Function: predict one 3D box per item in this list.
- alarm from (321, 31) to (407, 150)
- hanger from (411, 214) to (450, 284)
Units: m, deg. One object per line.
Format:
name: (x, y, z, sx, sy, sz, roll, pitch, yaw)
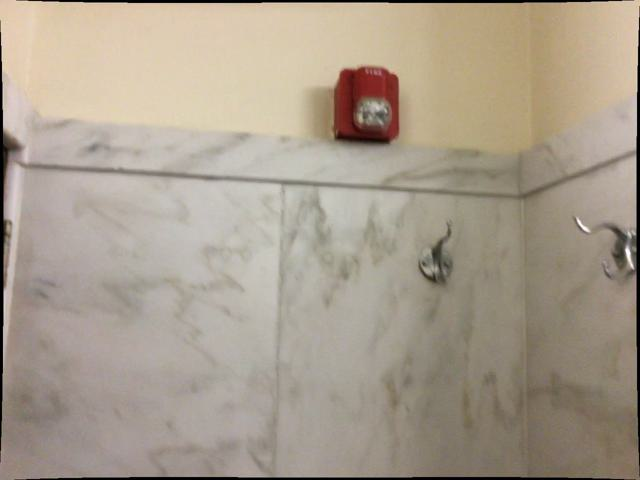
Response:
alarm: (0.090, -0.310, 1.220, 0.150, 0.190, 0.150, 2, -8, -9)
hanger: (0.230, 0.020, 1.200, 0.070, 0.140, 0.040, 2, -8, -9)
